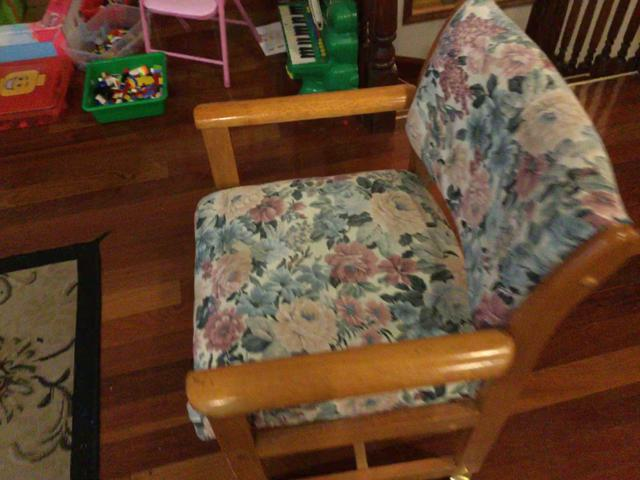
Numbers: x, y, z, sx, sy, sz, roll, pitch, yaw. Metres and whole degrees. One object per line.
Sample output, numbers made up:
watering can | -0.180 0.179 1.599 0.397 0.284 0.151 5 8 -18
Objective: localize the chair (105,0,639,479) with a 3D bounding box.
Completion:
chair | 0.050 0.060 1.060 0.600 0.830 0.640 -4 49 -7

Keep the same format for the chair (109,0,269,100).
chair | -0.430 -0.840 1.970 0.410 0.520 0.400 10 49 6
